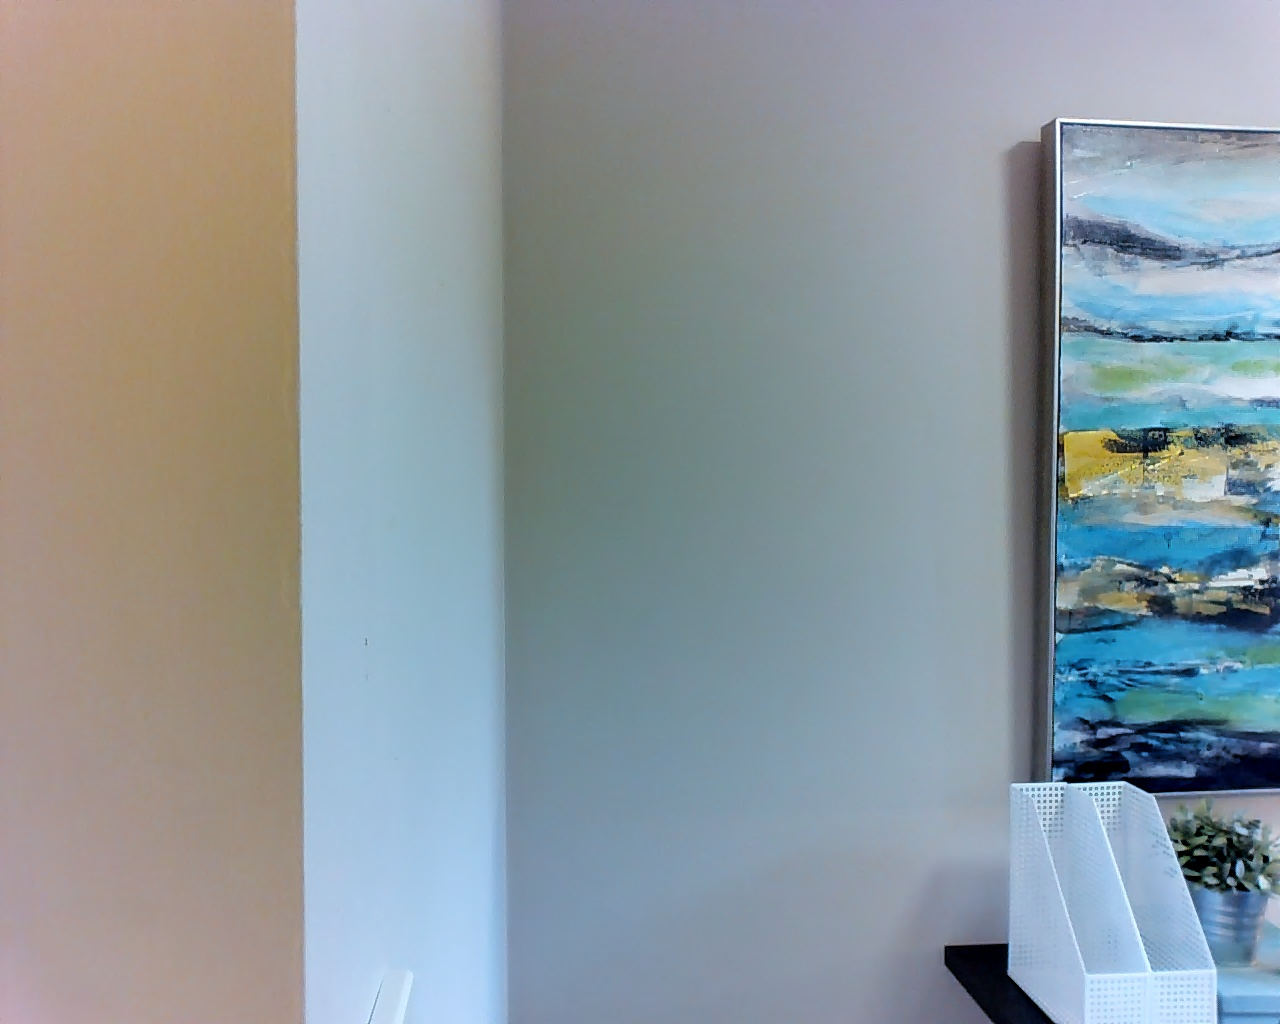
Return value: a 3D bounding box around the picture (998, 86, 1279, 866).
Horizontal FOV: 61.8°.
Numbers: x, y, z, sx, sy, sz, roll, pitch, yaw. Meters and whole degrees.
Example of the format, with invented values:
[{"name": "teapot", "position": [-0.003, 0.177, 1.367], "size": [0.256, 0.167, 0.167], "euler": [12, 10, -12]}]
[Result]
[{"name": "picture", "position": [1.280, -0.060, 1.890], "size": [1.280, 1.290, 0.130], "euler": [0, 1, -5]}]
